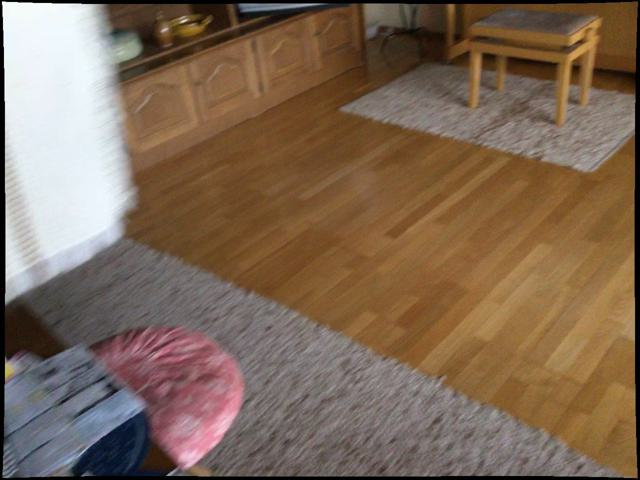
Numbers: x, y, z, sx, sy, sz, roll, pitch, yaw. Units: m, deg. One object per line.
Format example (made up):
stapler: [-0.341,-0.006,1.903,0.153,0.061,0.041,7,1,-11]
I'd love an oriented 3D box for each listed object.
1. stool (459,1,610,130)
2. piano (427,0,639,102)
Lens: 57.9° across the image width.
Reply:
stool: [1.119,-0.951,3.090,0.580,0.470,0.410,27,47,37]
piano: [1.449,-1.552,3.310,1.539,1.111,0.630,26,46,36]
